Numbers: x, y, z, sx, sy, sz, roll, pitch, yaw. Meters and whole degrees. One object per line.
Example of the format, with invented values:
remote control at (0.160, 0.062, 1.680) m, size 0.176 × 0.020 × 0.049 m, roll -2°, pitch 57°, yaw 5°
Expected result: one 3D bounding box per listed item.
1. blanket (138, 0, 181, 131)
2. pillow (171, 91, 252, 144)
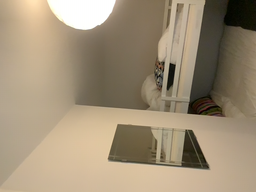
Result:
blanket at (0.410, -0.480, 3.110) m, size 0.840 × 0.380 × 1.730 m, roll -76°, pitch -10°, yaw -71°
pillow at (1.100, 0.240, 3.040) m, size 1.240 × 0.290 × 0.280 m, roll -138°, pitch 52°, yaw -62°
